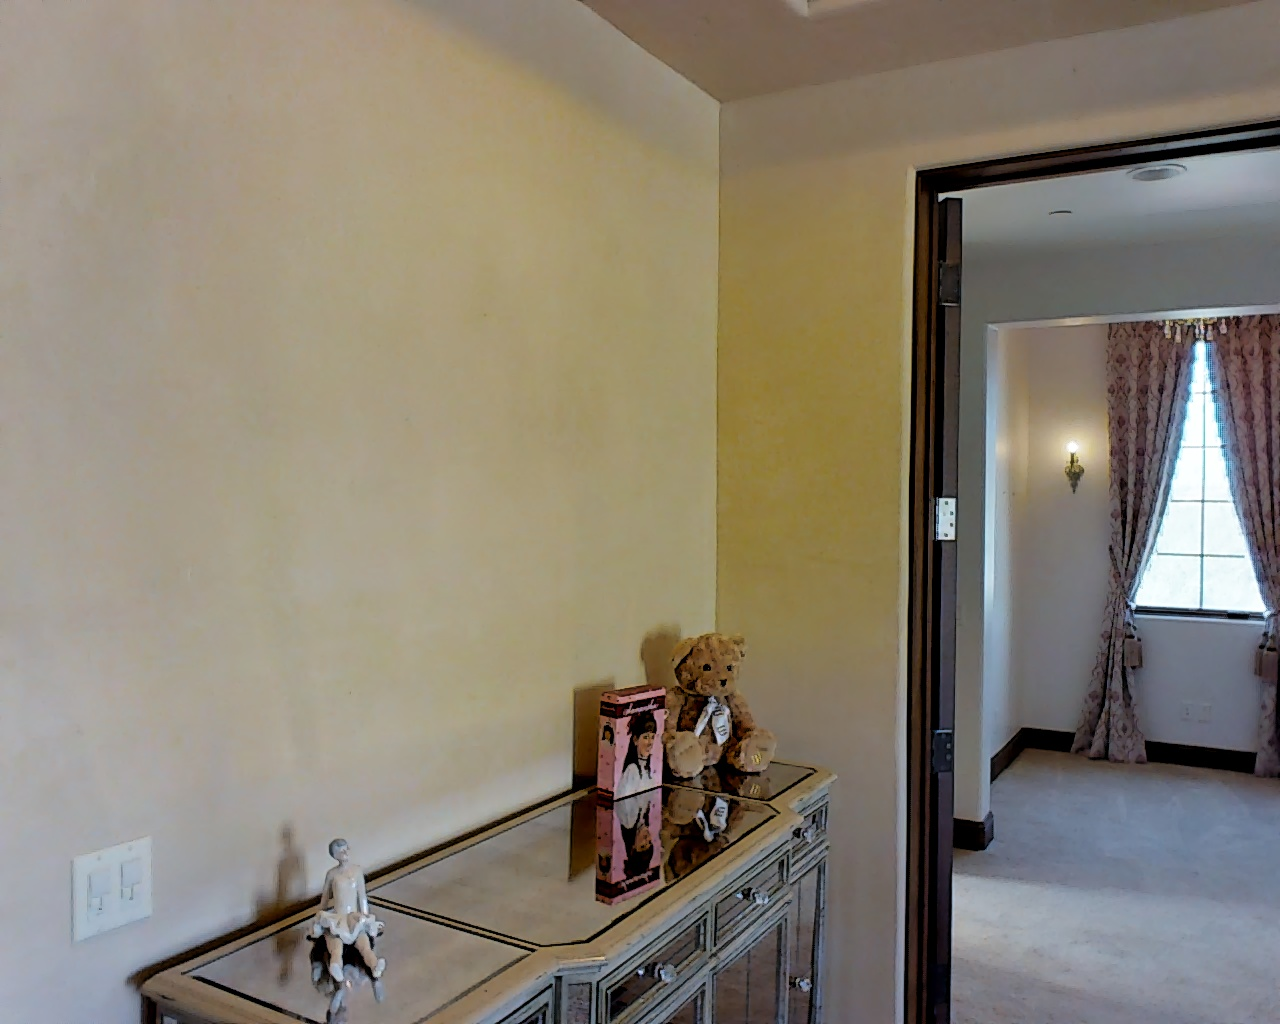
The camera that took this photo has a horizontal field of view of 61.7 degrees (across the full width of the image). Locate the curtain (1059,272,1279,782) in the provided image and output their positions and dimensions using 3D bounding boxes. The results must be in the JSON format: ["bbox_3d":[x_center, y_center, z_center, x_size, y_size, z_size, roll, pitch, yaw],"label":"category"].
[{"bbox_3d":[3.380,0.080,6.450,1.520,2.920,0.280,1,1,30],"label":"curtain"}]
